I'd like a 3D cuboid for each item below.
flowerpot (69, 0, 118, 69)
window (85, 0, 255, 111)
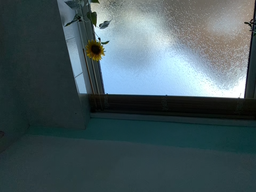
[{"bbox_3d":[-0.230,-0.540,1.410,0.190,0.670,0.220,0,-155,15],"label":"flowerpot"},{"bbox_3d":[0.260,-0.400,1.370,0.990,0.990,0.200,1,-155,16],"label":"window"}]
